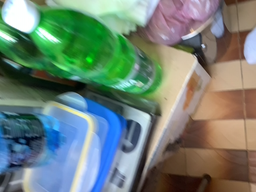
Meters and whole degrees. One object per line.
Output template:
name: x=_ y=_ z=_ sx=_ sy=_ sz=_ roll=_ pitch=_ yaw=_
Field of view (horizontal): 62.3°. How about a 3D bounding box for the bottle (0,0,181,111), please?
bottle: x=-0.090 y=-0.070 z=0.420 sx=0.280 sy=0.330 sz=0.140 roll=11 pitch=91 yaw=30
